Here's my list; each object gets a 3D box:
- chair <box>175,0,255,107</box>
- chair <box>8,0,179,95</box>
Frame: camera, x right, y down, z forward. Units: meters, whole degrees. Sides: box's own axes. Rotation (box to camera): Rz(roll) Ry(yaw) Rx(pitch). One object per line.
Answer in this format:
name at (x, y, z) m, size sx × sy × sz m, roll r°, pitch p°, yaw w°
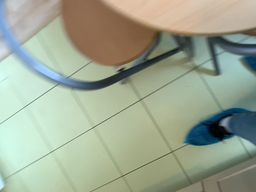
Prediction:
chair at (0.400, -0.250, 0.710) m, size 0.350 × 0.730 × 0.340 m, roll -29°, pitch 91°, yaw 14°
chair at (-0.030, -0.260, 0.800) m, size 0.310 × 0.730 × 0.330 m, roll -24°, pitch 92°, yaw 14°
